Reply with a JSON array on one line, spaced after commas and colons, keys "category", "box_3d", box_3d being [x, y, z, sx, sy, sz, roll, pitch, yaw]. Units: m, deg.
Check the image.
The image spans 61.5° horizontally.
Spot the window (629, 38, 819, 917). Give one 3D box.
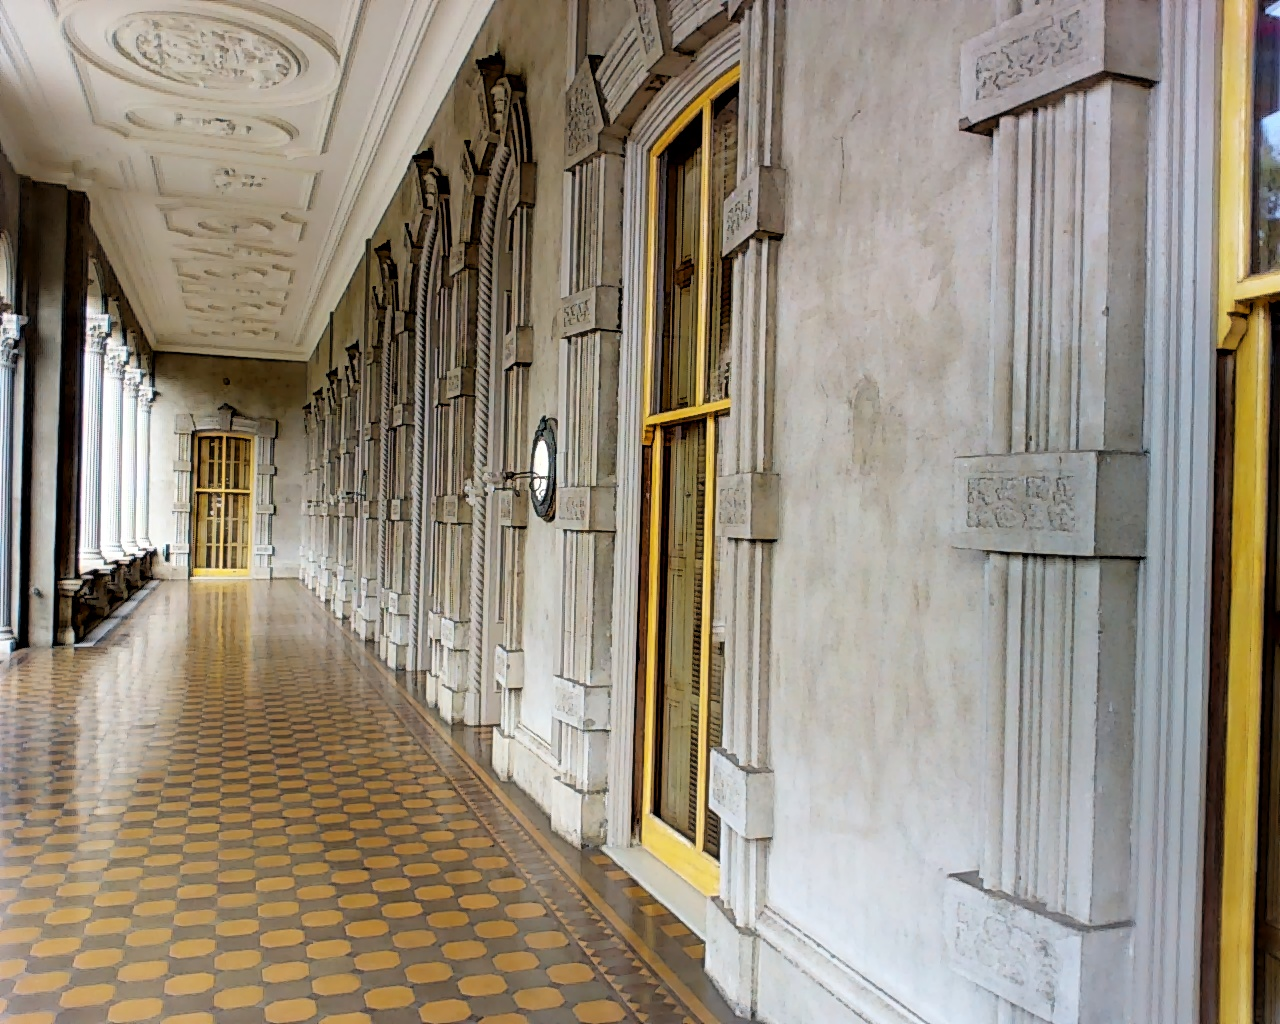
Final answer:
[{"category": "window", "box_3d": [0.310, -0.130, 4.600, 0.180, 3.230, 1.320, 1, 0, -22]}]

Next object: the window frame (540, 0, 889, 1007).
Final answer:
[{"category": "window frame", "box_3d": [0.160, -0.370, 4.450, 0.450, 3.801, 2.240, 1, 0, -22]}]

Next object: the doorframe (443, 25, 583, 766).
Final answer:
[{"category": "doorframe", "box_3d": [-0.920, -0.690, 7.340, 0.350, 4.381, 2.000, 1, 0, -22]}]
